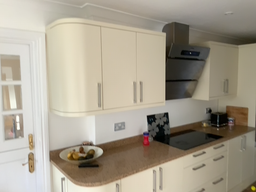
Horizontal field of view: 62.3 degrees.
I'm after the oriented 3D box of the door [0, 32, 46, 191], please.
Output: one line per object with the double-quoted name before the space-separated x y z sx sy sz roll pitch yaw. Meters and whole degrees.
"door" -1.170 0.450 1.890 0.780 2.000 0.090 -4 6 -36
